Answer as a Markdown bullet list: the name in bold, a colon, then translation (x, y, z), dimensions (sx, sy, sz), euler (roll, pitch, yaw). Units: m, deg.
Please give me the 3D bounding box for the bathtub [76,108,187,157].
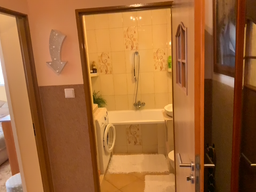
- **bathtub**: translation (0.080, 0.610, 3.700), dimensions (1.740, 0.610, 0.680), euler (-2, 12, 7)
